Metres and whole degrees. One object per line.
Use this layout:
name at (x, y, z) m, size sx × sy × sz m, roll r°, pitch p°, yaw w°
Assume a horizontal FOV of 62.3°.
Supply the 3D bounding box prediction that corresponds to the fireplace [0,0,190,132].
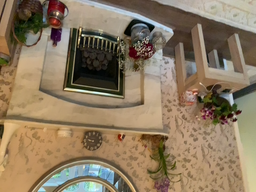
fireplace at (-0.260, -0.280, 1.780) m, size 1.340 × 0.980 × 0.560 m, roll 7°, pitch 159°, yaw -19°
